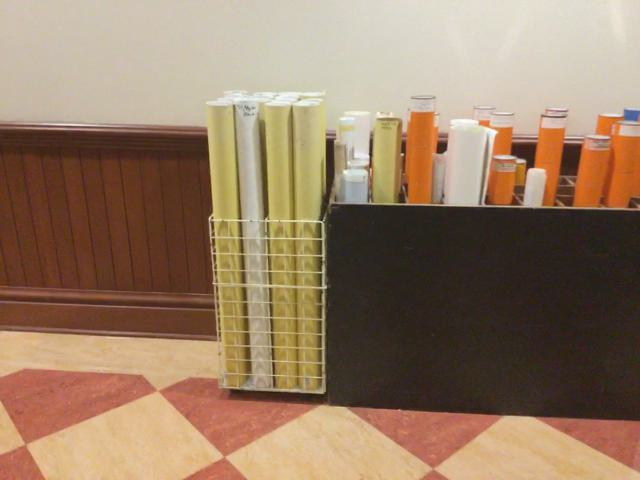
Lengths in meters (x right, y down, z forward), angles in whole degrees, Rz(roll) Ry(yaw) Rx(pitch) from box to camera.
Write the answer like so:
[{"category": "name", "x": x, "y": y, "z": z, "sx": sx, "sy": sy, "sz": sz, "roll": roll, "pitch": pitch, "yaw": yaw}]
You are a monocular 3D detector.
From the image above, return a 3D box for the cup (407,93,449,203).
[{"category": "cup", "x": 0.350, "y": -0.300, "z": 1.890, "sx": 0.120, "sy": 0.340, "sz": 0.090, "roll": -2, "pitch": 18, "yaw": 3}]

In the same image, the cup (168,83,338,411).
[{"category": "cup", "x": -0.200, "y": 0.020, "z": 2.190, "sx": 0.490, "sy": 1.150, "sz": 0.440, "roll": -2, "pitch": 18, "yaw": 3}]
